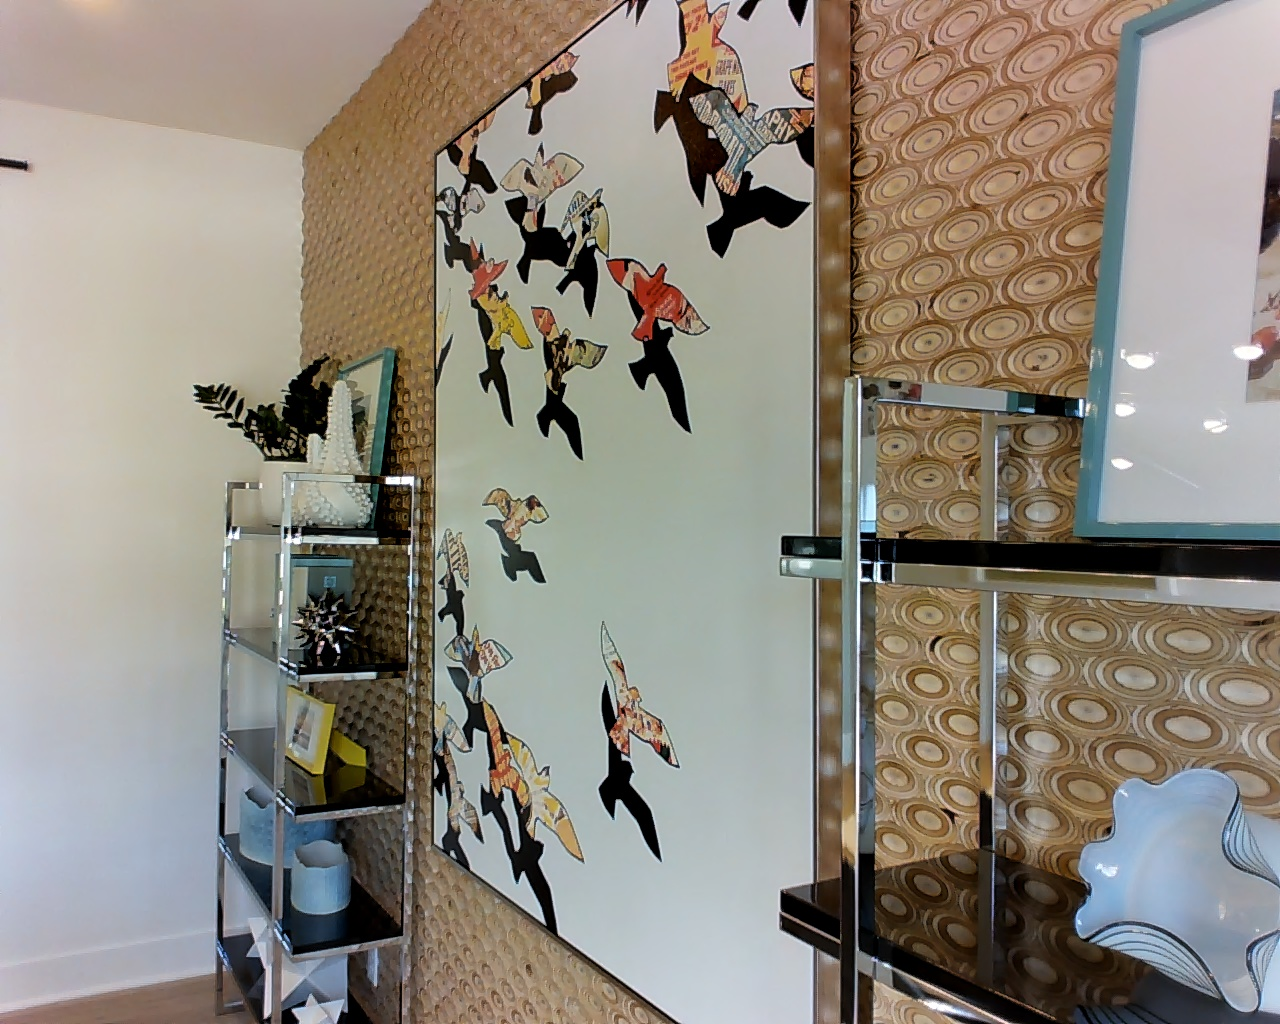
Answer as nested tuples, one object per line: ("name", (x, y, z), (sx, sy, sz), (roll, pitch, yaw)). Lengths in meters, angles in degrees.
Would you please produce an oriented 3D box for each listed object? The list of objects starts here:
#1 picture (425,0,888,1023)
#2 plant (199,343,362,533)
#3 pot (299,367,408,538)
("picture", (-0.090, -0.020, 1.860), (0.090, 1.581, 1.380), (2, -2, -30))
("plant", (-1.060, -0.200, 3.160), (0.410, 0.520, 0.230), (2, -2, -30))
("pot", (-0.740, -0.140, 2.750), (0.190, 0.410, 0.300), (2, -2, -30))
